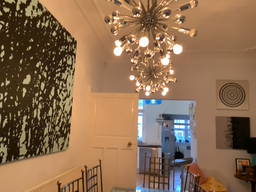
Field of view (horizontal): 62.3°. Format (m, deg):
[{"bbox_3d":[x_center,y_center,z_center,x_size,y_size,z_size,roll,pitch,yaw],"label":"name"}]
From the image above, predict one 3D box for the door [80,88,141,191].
[{"bbox_3d":[-0.280,0.920,3.560,0.950,2.090,0.180,0,-8,8],"label":"door"}]
